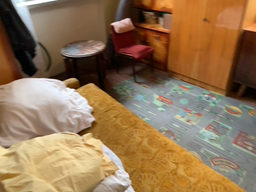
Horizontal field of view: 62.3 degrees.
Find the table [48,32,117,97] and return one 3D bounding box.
[{"bbox_3d":[-0.640,-0.490,3.080,0.580,0.590,0.750,-30,42,-34],"label":"table"}]

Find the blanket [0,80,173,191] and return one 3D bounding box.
[{"bbox_3d":[-0.350,0.390,1.120,0.760,0.460,0.830,-29,41,-33],"label":"blanket"}]

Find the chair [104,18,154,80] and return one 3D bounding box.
[{"bbox_3d":[0.030,-0.740,3.280,0.430,0.730,0.600,-30,42,-34],"label":"chair"}]

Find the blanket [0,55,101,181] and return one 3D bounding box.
[{"bbox_3d":[-0.840,0.070,1.800,0.840,0.400,0.840,-29,41,-33],"label":"blanket"}]
